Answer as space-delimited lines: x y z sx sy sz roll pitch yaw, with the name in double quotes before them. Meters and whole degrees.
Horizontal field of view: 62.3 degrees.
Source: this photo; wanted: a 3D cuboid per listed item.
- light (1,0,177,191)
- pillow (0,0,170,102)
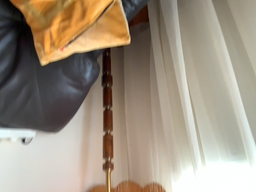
"light" -0.130 0.110 1.150 0.620 1.680 0.590 -9 155 14
"pillow" -0.250 -0.350 0.700 0.460 0.580 0.250 -30 -169 44
